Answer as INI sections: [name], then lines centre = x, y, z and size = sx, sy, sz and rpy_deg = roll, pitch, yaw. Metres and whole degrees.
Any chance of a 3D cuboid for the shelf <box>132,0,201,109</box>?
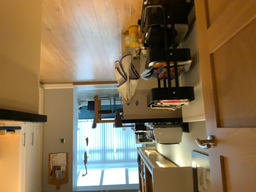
[shelf]
centre = 0.250, -0.350, 1.640
size = 0.360, 0.850, 0.520
rpy_deg = -1, 172, -4
